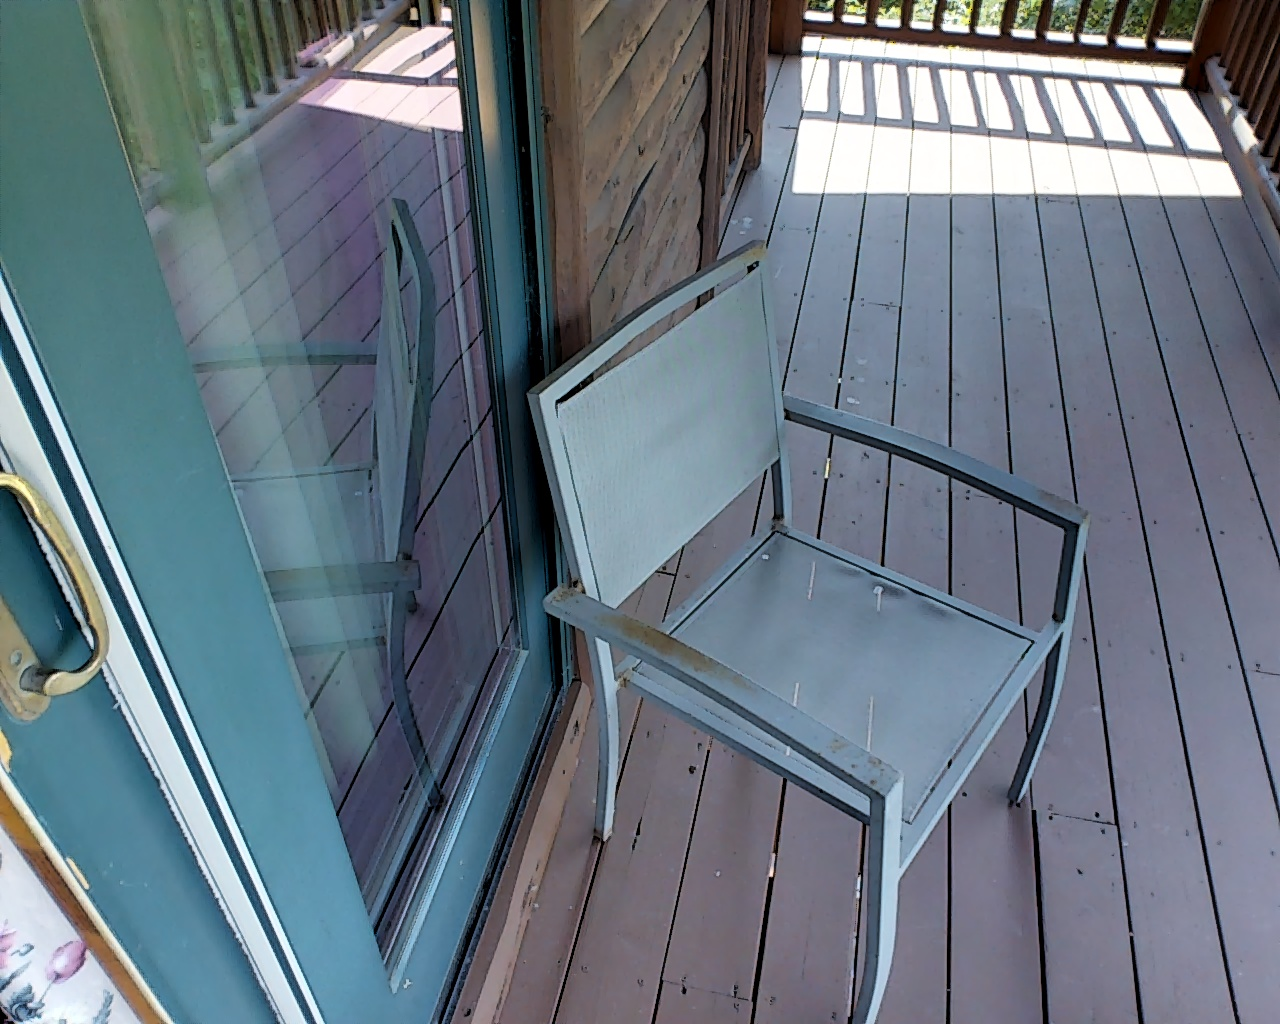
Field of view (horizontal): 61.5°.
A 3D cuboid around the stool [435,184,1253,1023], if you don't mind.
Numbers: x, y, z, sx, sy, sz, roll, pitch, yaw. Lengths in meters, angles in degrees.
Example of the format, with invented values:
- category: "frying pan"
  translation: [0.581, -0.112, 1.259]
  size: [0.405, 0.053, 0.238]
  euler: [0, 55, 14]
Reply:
- category: "stool"
  translation: [0.240, 0.150, 1.550]
  size: [0.740, 0.870, 0.640]
  euler: [27, 47, 25]
